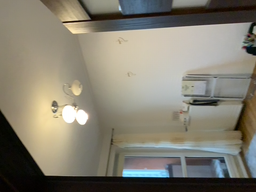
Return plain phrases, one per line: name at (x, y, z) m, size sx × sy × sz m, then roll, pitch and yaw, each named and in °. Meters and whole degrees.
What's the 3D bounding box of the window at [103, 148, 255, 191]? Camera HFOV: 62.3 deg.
window at (0.870, 1.950, 3.660) m, size 2.250 × 2.630 × 0.420 m, roll -85°, pitch -9°, yaw -51°
